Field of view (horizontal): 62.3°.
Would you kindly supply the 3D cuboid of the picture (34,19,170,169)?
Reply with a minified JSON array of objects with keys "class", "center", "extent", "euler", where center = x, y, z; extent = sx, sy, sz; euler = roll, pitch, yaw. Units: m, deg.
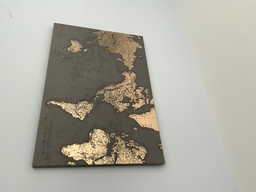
[{"class":"picture","center":[-0.130,-0.070,1.190],"extent":[0.030,0.600,0.920],"euler":[117,-27,-53]}]
